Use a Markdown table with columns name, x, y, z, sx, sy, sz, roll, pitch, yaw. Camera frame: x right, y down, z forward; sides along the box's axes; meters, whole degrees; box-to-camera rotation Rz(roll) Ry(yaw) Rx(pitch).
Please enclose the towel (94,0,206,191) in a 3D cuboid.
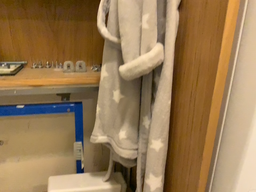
| name | x | y | z | sx | sy | sz | roll | pitch | yaw |
| --- | --- | --- | --- | --- | --- | --- | --- | --- | --- |
| towel | 0.020 | -0.080 | 0.530 | 0.180 | 0.700 | 0.250 | -3 | 20 | -14 |
